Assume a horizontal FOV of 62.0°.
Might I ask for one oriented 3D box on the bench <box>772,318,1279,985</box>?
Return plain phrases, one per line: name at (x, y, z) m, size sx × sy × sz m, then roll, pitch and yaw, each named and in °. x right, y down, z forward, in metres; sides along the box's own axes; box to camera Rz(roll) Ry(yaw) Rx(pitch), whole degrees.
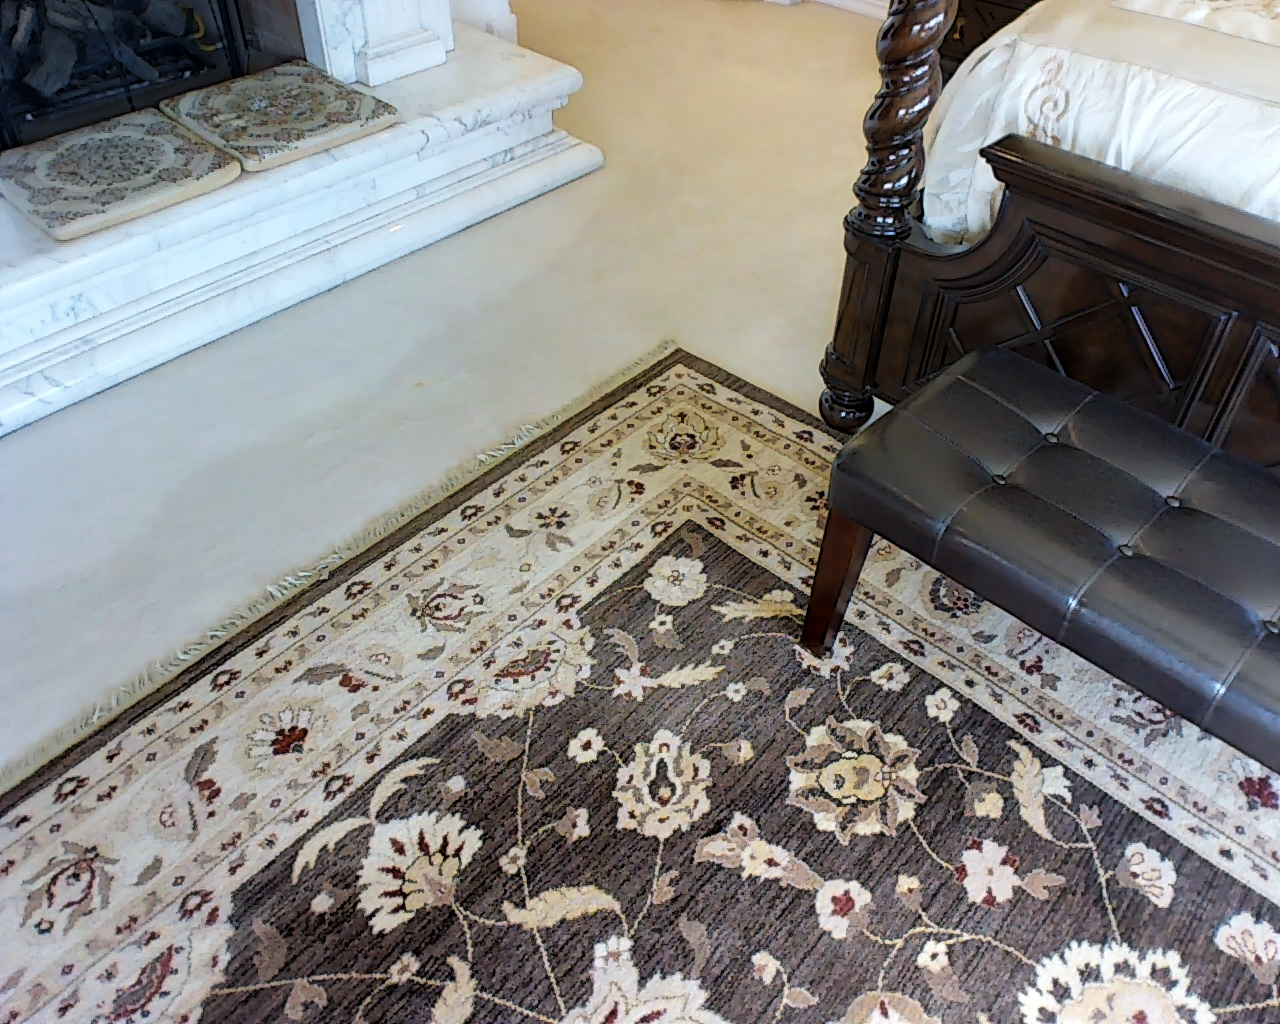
bench at (0.880, 0.250, 1.560) m, size 1.290 × 0.450 × 0.500 m, roll 33°, pitch 51°, yaw 30°
